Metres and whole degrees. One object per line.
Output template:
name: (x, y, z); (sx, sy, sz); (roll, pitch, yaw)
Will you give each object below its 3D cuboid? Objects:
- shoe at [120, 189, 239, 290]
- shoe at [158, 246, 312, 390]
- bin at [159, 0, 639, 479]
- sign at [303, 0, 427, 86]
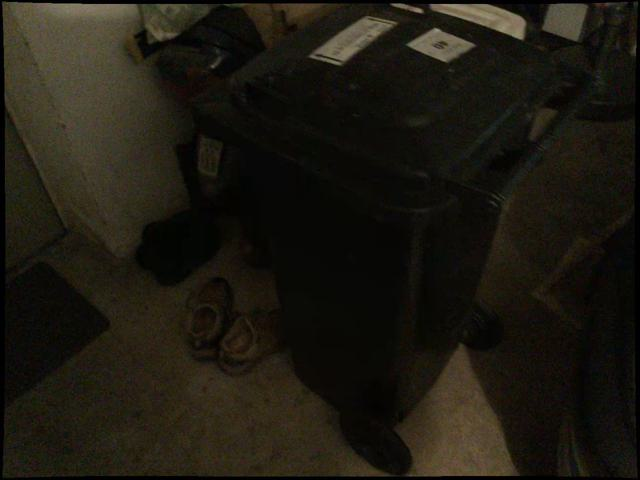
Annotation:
shoe: (-0.450, -0.010, 1.870); (0.210, 0.080, 0.300); (33, 58, 27)
shoe: (-0.240, 0.210, 1.650); (0.350, 0.110, 0.250); (33, 58, 27)
bin: (0.140, 0.010, 1.250); (0.560, 0.900, 0.510); (33, 58, 27)
sign: (0.080, -0.340, 0.980); (0.080, 0.030, 0.230); (33, 58, 27)
